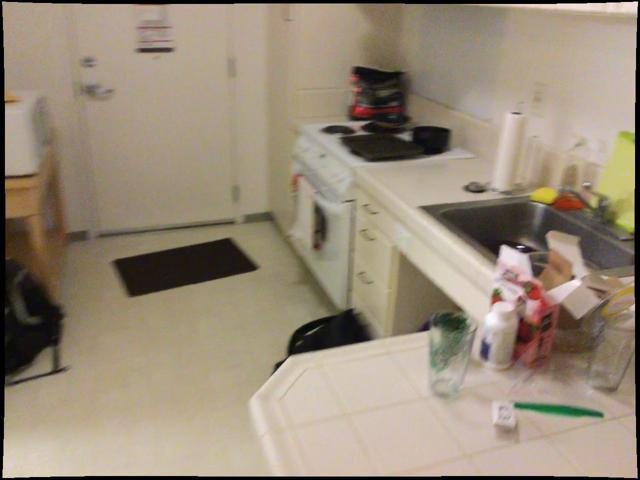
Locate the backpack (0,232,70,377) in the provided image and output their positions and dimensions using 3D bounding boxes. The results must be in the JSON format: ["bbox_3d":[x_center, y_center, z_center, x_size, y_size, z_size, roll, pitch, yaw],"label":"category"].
[{"bbox_3d":[-1.319,0.270,2.460,0.390,0.430,0.430,-6,26,-18],"label":"backpack"}]

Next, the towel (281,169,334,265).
[{"bbox_3d":[-0.070,-0.120,2.750,0.130,0.320,0.400,-6,26,-18],"label":"towel"}]
